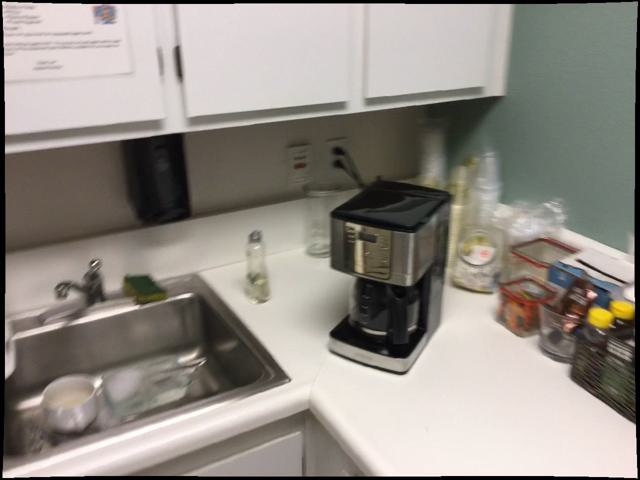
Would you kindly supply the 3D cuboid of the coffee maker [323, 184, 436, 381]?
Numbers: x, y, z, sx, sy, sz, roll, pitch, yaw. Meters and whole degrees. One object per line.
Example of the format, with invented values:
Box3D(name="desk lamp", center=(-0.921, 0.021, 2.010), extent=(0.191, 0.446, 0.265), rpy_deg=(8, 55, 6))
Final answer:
Box3D(name="coffee maker", center=(0.110, 0.080, 1.160), extent=(0.140, 0.330, 0.170), rpy_deg=(-14, 28, -28))
